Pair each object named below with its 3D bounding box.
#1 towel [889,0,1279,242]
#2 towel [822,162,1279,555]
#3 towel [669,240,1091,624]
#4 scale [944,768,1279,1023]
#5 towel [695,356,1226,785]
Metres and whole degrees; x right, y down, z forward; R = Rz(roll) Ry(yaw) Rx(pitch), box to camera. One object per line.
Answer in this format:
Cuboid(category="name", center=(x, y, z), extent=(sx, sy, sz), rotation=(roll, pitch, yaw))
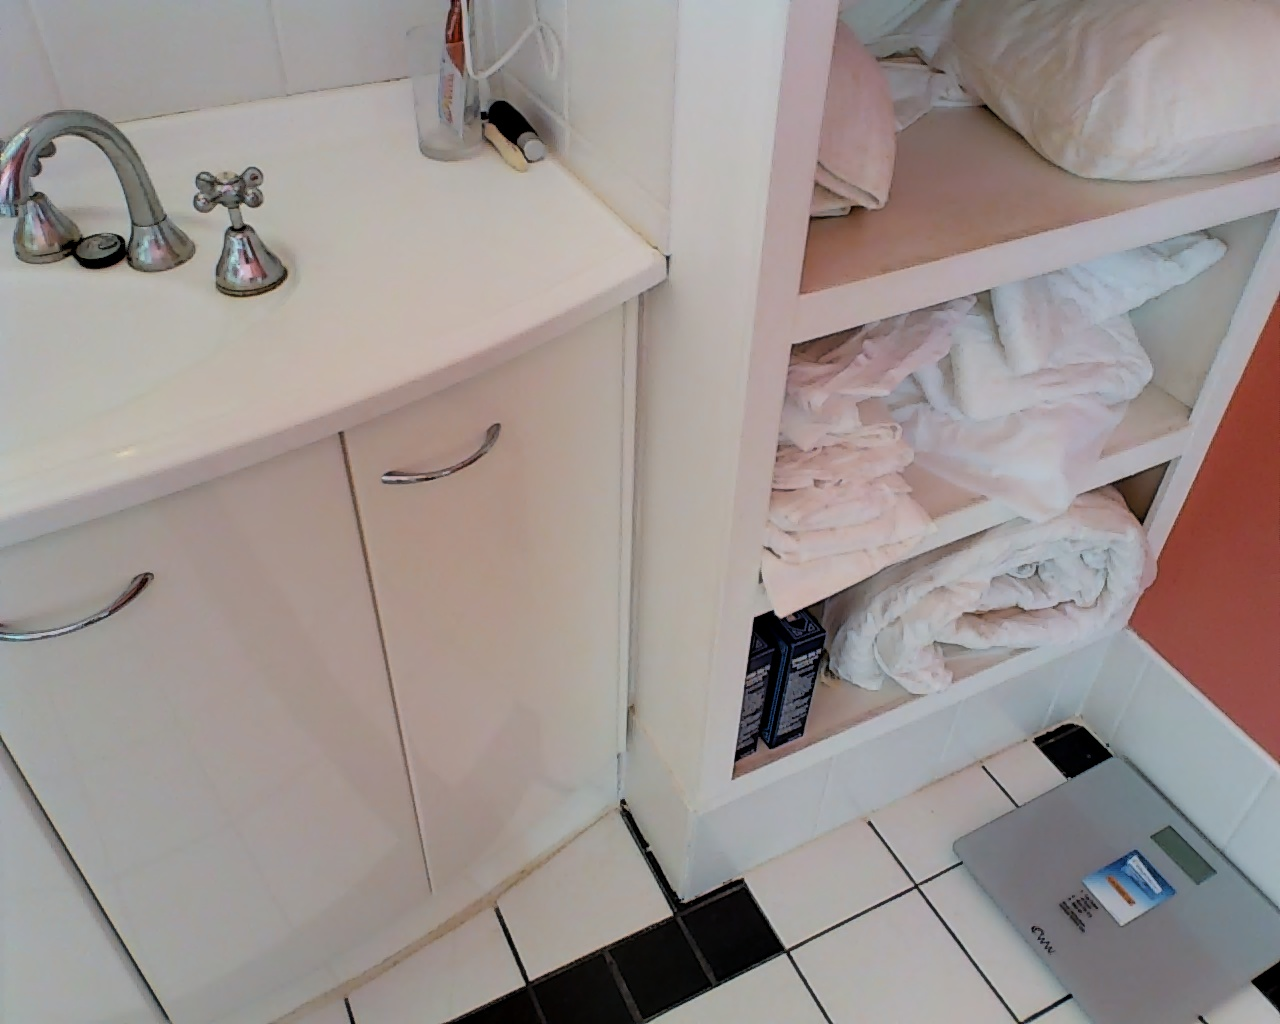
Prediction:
Cuboid(category="towel", center=(0.480, -0.450, 1.040), extent=(0.280, 0.190, 0.360), rotation=(-17, 44, -21))
Cuboid(category="towel", center=(0.450, -0.180, 1.170), extent=(0.400, 0.260, 0.240), rotation=(-17, 44, -21))
Cuboid(category="towel", center=(0.220, -0.090, 1.070), extent=(0.300, 0.230, 0.230), rotation=(-17, 44, -21))
Cuboid(category="scale", center=(0.630, 0.520, 1.380), extent=(0.330, 0.030, 0.330), rotation=(-17, 44, -21))
Cuboid(category="towel", center=(0.380, 0.050, 1.360), extent=(0.510, 0.260, 0.330), rotation=(-17, 44, -21))
